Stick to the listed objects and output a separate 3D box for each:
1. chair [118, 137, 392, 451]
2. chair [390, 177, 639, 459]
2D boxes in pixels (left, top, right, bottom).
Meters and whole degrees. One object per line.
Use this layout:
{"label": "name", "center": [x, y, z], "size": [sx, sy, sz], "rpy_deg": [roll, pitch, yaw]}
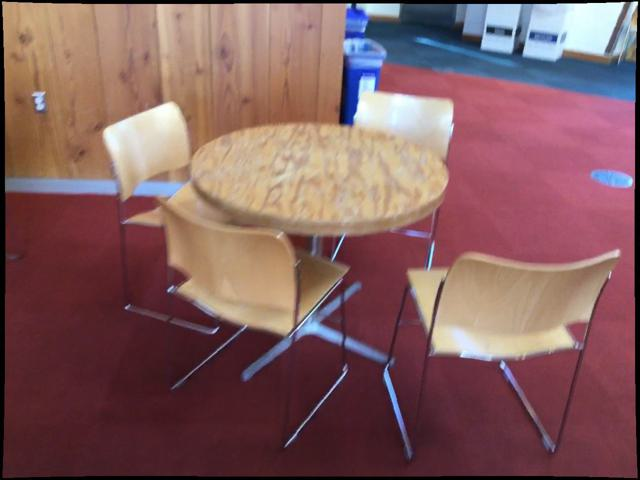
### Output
{"label": "chair", "center": [-0.200, 0.130, 1.870], "size": [0.610, 0.681, 0.520], "rpy_deg": [22, 34, 28]}
{"label": "chair", "center": [0.559, 0.240, 1.830], "size": [0.529, 0.711, 0.500], "rpy_deg": [2, 30, -3]}
